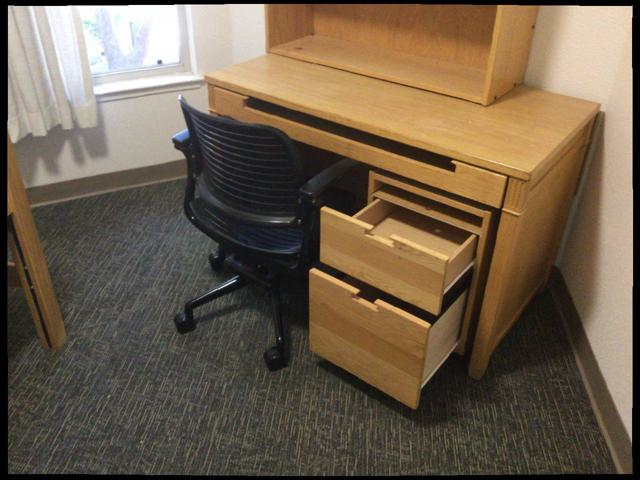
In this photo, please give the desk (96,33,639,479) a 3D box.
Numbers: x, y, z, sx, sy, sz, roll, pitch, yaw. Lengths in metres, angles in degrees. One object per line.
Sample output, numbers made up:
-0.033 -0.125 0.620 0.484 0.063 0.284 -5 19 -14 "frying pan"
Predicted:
0.269 -0.110 2.040 1.349 0.771 1.379 26 39 33 "desk"
